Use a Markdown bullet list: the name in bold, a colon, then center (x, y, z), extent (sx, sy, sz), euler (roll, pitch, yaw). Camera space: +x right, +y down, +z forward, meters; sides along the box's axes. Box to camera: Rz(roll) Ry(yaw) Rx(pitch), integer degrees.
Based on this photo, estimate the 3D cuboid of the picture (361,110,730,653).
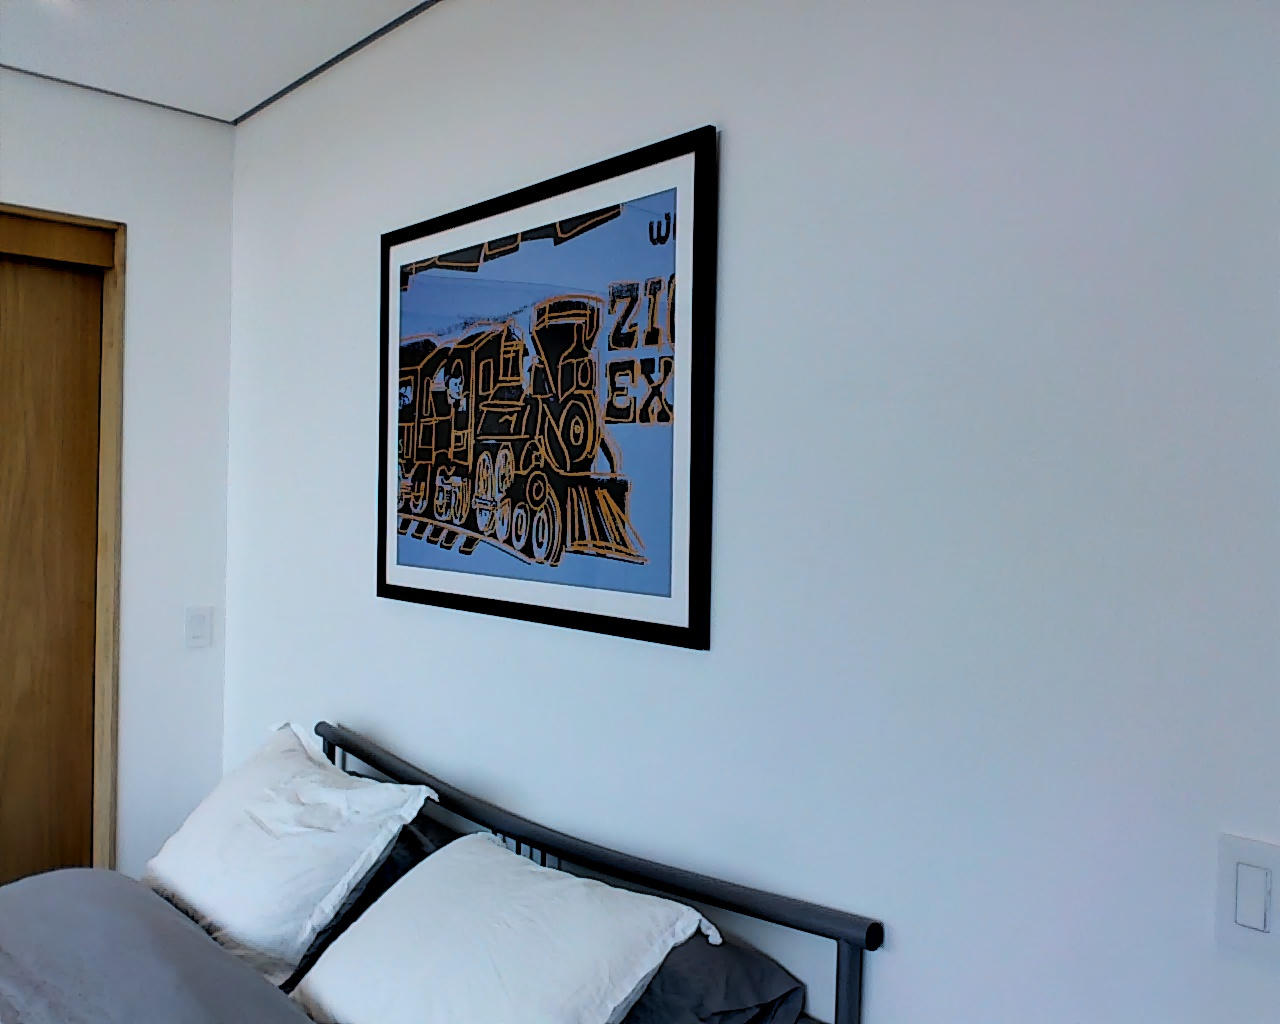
- **picture**: center (-0.260, -0.220, 2.160), extent (0.040, 0.870, 1.140), euler (0, 1, -42)
